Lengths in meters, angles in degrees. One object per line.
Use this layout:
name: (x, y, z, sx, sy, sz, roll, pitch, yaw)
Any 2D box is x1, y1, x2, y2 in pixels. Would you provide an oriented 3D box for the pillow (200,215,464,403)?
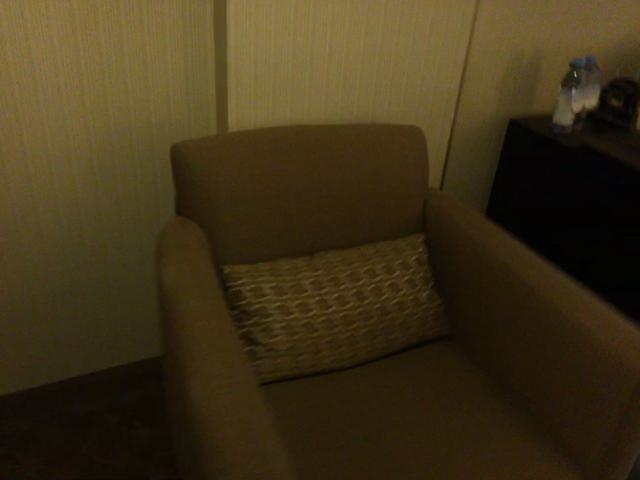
pillow: (0.030, 0.130, 1.260, 0.510, 0.280, 0.160, -11, 2, -20)

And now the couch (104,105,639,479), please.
couch: (0.060, 0.280, 1.280, 0.820, 0.840, 0.880, -11, 33, -20)
